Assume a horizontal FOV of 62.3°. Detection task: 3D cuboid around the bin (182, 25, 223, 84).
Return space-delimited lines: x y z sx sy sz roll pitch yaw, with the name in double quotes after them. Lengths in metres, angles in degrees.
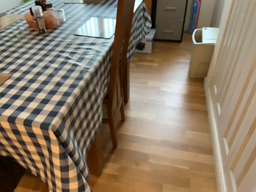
0.740 -0.430 2.170 0.280 0.450 0.360 9 39 11 "bin"
